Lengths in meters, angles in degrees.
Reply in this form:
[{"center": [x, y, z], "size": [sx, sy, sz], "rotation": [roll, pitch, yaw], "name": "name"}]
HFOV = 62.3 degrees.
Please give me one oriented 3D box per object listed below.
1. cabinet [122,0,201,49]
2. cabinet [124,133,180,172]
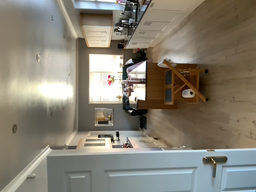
[{"center": [0.490, -1.780, 5.100], "size": [3.570, 0.880, 0.590], "rotation": [-167, 78, -82], "name": "cabinet"}, {"center": [0.460, 1.280, 5.160], "size": [2.010, 0.890, 0.330], "rotation": [-172, 82, -82], "name": "cabinet"}]
